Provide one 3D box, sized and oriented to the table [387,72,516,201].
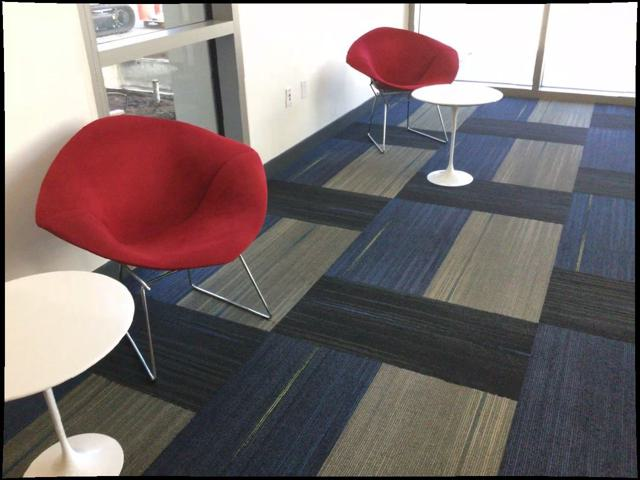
[{"bbox_3d":[0.768,-0.632,3.390,0.569,0.541,0.570,12,32,25],"label":"table"}]
